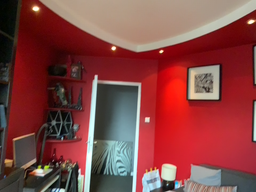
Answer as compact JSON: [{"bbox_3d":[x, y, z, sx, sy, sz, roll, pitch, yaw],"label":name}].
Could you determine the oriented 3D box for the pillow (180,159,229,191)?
[{"bbox_3d":[0.970,1.080,2.700,0.470,0.390,0.250,-2,21,45],"label":"pillow"}]
